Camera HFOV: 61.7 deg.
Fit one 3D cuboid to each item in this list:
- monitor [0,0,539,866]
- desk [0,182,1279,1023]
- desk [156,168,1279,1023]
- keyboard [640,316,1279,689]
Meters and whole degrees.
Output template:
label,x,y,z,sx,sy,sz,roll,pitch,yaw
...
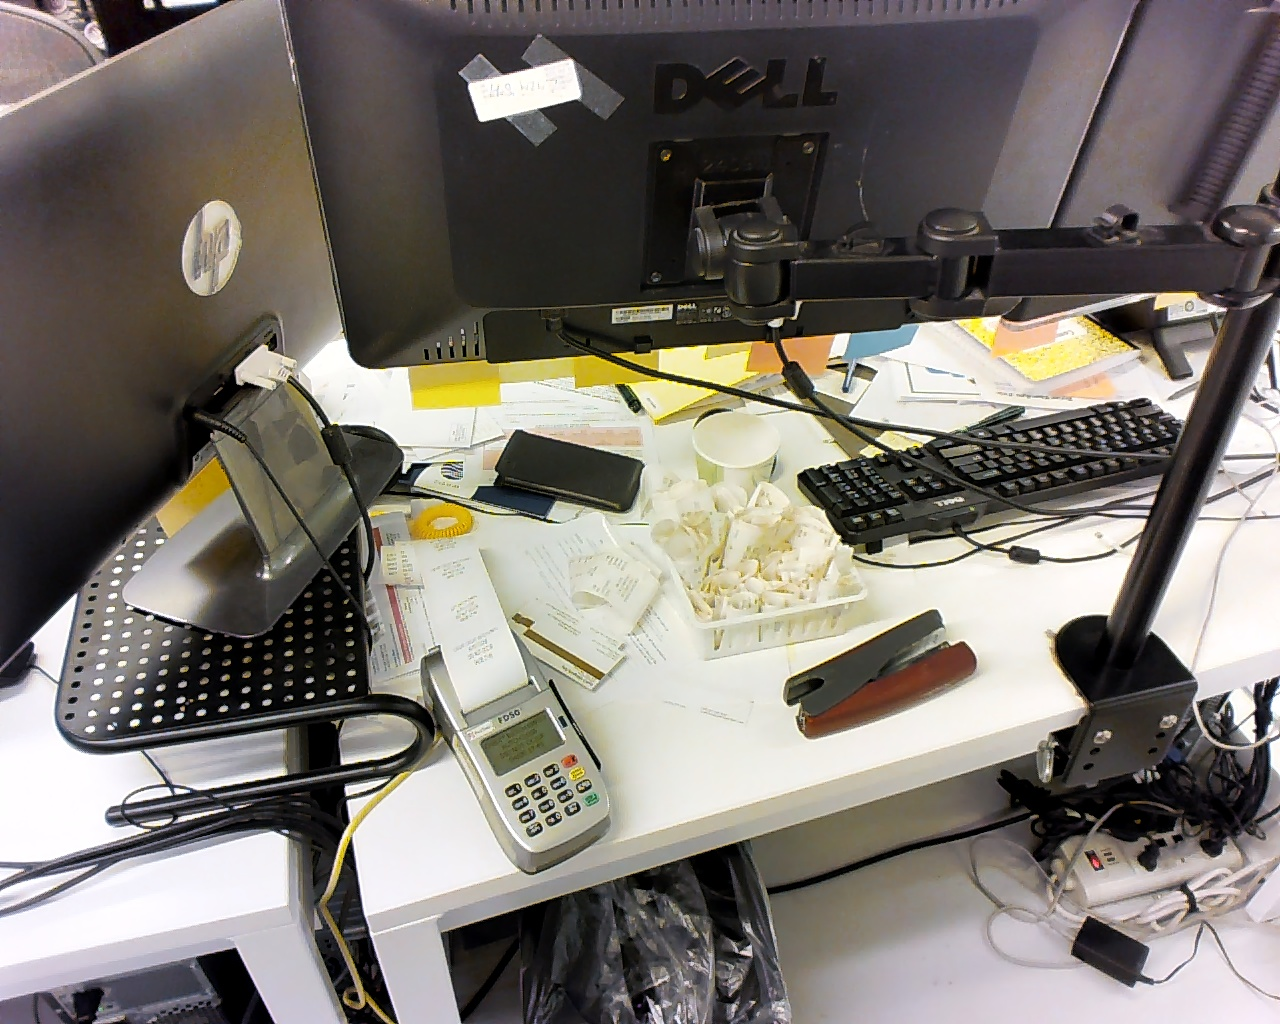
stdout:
label,x,y,z,sx,sy,sz,roll,pitch,yaw
monitor,-0.300,-0.120,0.860,0.170,0.510,0.570,15,44,16
desk,-0.340,0.300,1.310,2.520,0.760,0.860,-11,43,-12
desk,0.250,0.180,1.440,1.450,0.760,0.910,-11,43,-12
keyboard,0.330,-0.030,1.070,0.610,0.120,0.260,-12,43,-12
